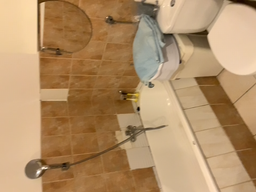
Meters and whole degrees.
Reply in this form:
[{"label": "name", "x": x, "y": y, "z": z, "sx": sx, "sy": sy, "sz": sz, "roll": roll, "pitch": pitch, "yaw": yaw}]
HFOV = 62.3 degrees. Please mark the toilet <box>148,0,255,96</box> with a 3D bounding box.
[{"label": "toilet", "x": 0.640, "y": -0.430, "z": 1.400, "sx": 0.410, "sy": 0.740, "sz": 0.750, "roll": 118, "pitch": 145, "yaw": -49}]
